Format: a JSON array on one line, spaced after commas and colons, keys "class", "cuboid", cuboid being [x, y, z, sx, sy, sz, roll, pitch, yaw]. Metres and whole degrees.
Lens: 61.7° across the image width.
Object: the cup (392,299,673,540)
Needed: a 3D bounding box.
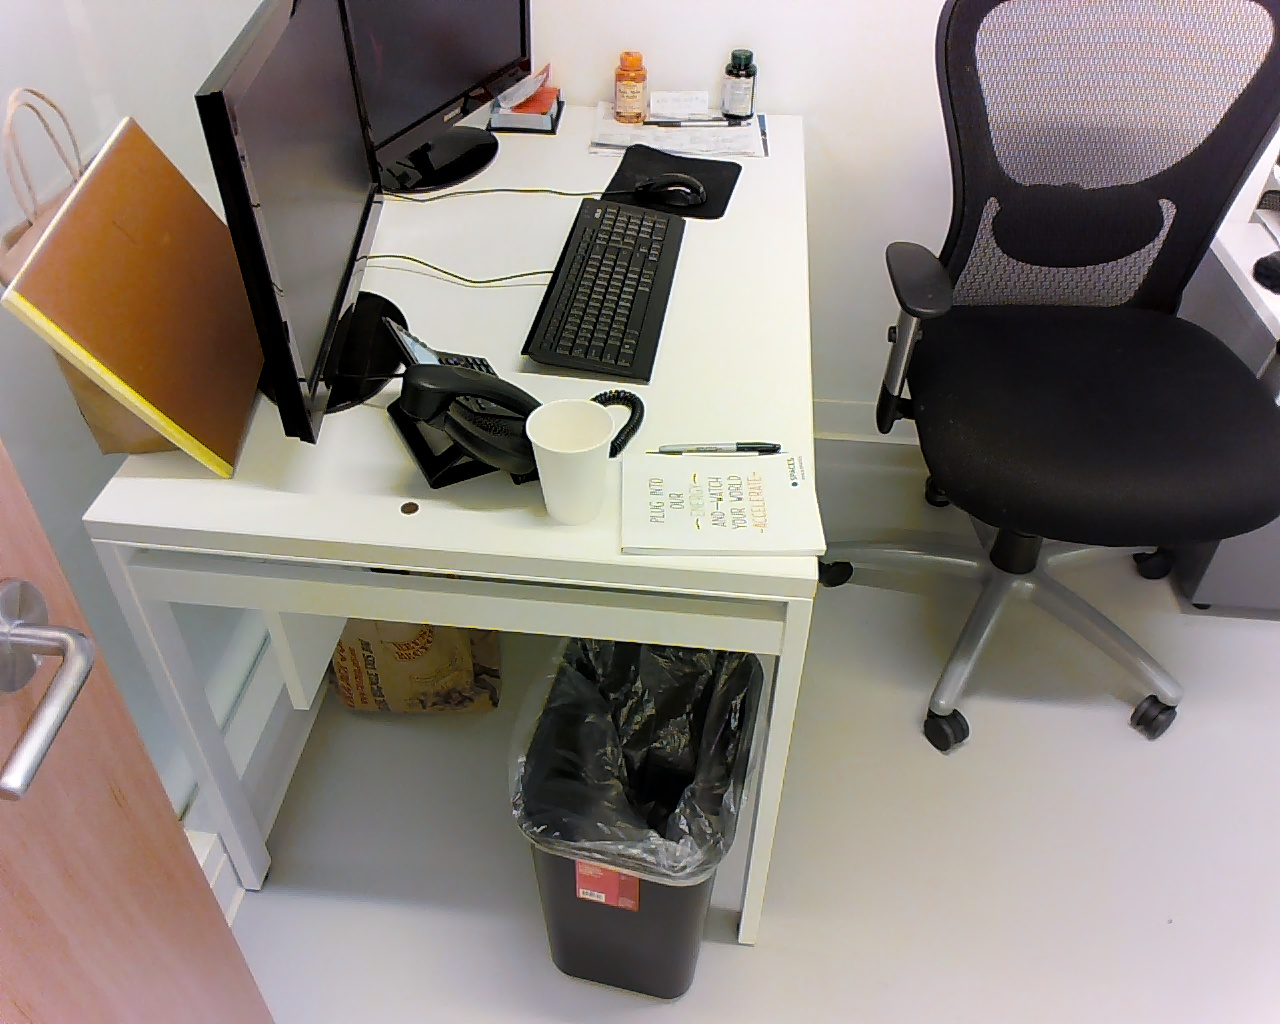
[{"class": "cup", "cuboid": [-0.100, -0.100, 1.120, 0.250, 0.150, 0.190, 5, 41, 4]}]
